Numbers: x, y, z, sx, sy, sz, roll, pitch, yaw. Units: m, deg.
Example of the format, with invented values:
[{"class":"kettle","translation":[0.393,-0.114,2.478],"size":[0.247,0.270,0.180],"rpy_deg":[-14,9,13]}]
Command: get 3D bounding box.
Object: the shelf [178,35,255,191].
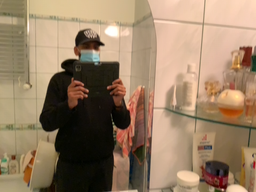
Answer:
[{"class":"shelf","translation":[0.320,0.110,0.580],"size":[0.260,0.500,0.250],"rpy_deg":[8,9,36]}]
